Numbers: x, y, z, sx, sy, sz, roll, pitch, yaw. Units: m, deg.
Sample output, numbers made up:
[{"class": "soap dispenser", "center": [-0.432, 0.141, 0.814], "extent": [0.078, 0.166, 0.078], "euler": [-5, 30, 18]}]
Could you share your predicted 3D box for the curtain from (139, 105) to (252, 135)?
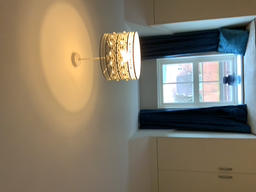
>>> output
[{"class": "curtain", "center": [1.040, 0.380, 3.500], "extent": [0.390, 1.680, 0.440], "euler": [3, -94, -78]}]

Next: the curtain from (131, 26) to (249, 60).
[{"class": "curtain", "center": [0.950, -0.840, 3.450], "extent": [0.170, 1.750, 0.380], "euler": [-72, -22, -57]}]
